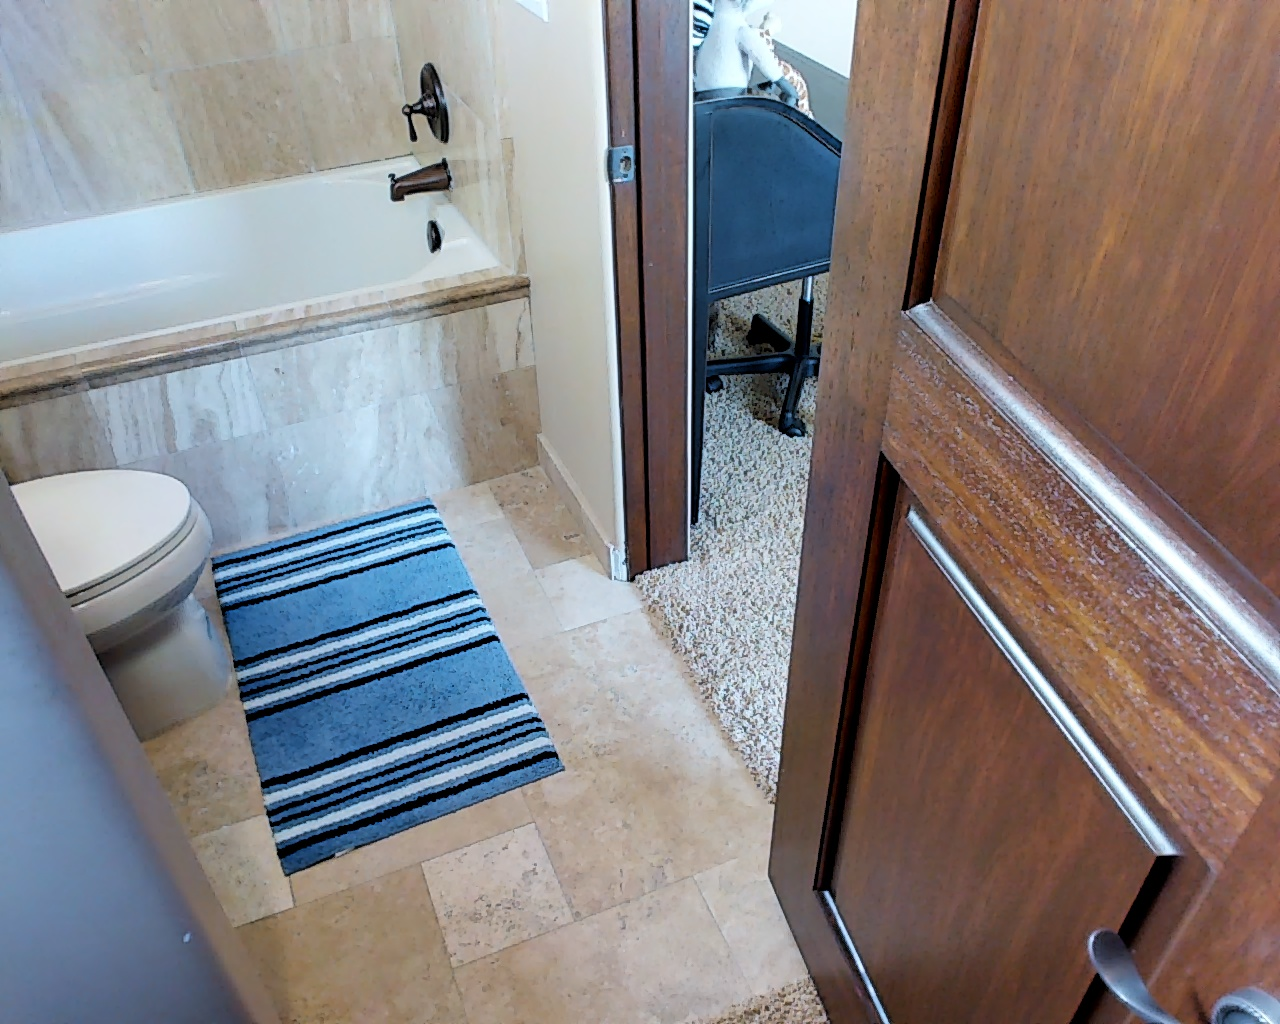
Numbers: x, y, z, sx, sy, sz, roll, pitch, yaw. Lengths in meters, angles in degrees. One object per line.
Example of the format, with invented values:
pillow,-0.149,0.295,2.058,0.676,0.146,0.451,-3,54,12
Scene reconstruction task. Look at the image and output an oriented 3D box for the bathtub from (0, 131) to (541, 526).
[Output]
bathtub,-1.070,-0.460,2.490,1.460,0.340,0.830,-16,42,-16
